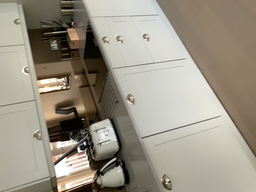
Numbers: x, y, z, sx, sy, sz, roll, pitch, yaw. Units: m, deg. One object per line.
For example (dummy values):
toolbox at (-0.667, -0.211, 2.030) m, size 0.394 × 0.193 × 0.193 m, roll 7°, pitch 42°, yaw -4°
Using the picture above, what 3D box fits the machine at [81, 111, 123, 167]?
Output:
machine at (-0.240, 0.370, 1.800) m, size 0.330 × 0.220 × 0.320 m, roll 67°, pitch 154°, yaw 26°
